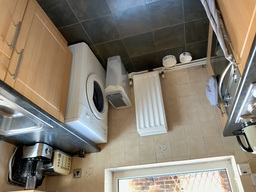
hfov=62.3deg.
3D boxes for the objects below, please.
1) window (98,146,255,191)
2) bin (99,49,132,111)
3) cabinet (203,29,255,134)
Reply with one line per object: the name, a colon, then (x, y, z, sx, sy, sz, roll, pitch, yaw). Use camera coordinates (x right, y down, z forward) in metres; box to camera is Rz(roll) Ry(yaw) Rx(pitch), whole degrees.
window: (0.420, 1.160, 1.840, 1.340, 1.240, 0.300, -9, 150, 11)
bin: (-0.130, -0.170, 2.320, 0.240, 0.530, 0.370, -10, 150, 12)
cabinet: (1.090, -0.160, 1.970, 0.560, 0.910, 0.250, -10, 150, 12)
